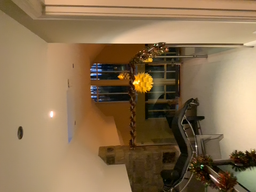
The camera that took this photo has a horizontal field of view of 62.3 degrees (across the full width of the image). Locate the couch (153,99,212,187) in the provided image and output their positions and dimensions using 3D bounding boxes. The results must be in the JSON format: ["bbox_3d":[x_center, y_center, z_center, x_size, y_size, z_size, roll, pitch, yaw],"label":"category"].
[{"bbox_3d":[0.880,0.790,3.660,0.500,0.690,1.370,109,160,-70],"label":"couch"}]
